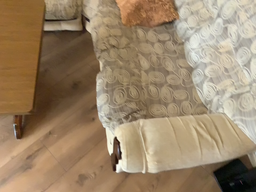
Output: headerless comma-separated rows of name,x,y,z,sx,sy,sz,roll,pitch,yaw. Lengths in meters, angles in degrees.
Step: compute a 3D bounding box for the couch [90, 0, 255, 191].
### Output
couch,0.340,-0.220,1.210,1.060,1.050,1.190,-3,60,-10
